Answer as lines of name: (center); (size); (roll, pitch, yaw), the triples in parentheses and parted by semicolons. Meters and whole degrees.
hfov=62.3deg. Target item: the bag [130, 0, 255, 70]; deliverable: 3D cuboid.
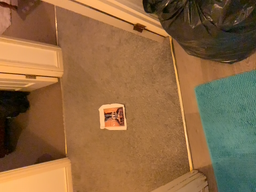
bag: (0.340, -0.420, 0.930); (0.440, 0.510, 0.480); (-9, 83, 41)
